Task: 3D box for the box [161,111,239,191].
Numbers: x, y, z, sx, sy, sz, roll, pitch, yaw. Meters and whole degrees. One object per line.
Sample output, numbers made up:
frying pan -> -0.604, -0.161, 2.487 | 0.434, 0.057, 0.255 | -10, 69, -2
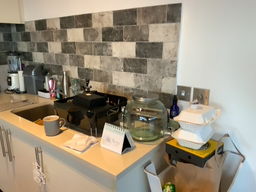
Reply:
box -> 0.340, 0.310, 1.010 | 0.240, 0.380, 0.280 | 11, 19, 37
